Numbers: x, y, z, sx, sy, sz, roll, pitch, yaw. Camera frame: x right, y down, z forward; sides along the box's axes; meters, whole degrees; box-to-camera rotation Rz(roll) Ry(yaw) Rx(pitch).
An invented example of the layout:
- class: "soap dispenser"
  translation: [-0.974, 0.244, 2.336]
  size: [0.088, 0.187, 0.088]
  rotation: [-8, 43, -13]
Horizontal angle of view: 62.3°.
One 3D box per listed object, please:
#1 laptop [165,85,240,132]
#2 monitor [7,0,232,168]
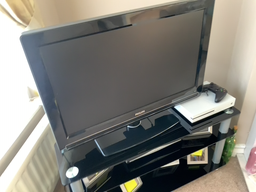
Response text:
- class: "laptop"
  translation: [0.410, 0.060, 1.190]
  size: [0.350, 0.080, 0.180]
  rotation: [-16, 36, -16]
- class: "monitor"
  translation: [0.080, -0.100, 0.980]
  size: [0.960, 0.620, 0.050]
  rotation: [-20, 37, -23]
